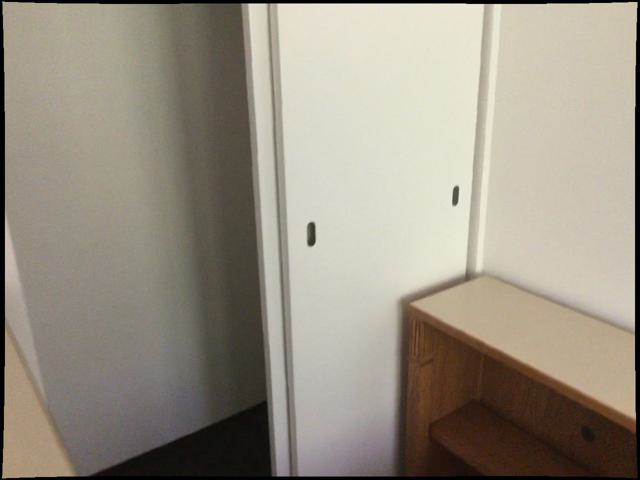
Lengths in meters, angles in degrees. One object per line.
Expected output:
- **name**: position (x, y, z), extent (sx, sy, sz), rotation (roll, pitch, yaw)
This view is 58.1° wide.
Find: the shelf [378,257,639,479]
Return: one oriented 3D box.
- **shelf**: position (0.569, 0.582, 1.460), extent (0.379, 0.782, 0.839), rotation (-16, 26, -32)
